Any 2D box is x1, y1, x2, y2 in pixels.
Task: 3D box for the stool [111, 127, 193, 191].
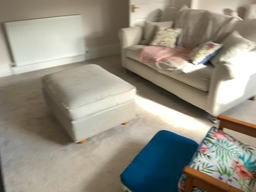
[{"bbox_3d":[0.200,0.530,1.550,0.340,0.220,0.630,16,33,27],"label":"stool"}]
